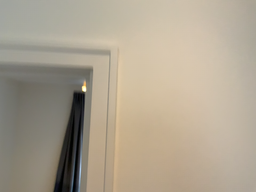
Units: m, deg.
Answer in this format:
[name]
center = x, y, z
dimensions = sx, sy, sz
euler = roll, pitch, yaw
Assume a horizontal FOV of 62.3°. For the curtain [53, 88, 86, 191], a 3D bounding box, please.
[curtain]
center = -1.080, 1.080, 3.900
dimensions = 0.440, 2.440, 0.270
euler = 2, -7, -3
